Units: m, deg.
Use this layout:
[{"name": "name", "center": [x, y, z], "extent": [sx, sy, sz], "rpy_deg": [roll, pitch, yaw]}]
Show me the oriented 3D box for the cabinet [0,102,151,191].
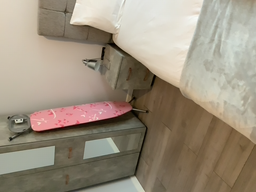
[{"name": "cabinet", "center": [-0.750, 0.600, 2.500], "extent": [0.570, 1.860, 0.850], "rpy_deg": [47, 130, 51]}]
